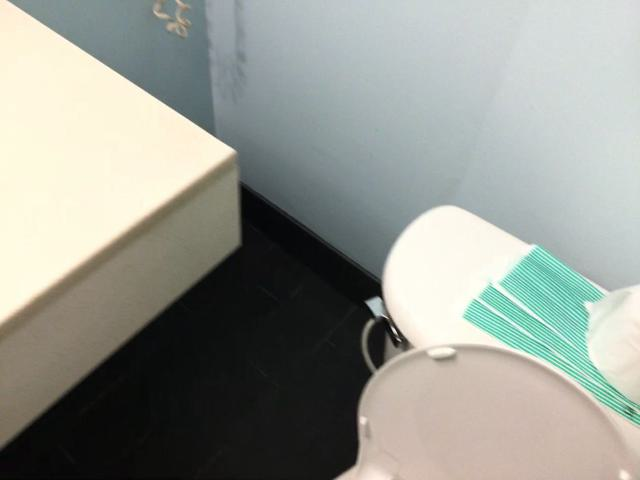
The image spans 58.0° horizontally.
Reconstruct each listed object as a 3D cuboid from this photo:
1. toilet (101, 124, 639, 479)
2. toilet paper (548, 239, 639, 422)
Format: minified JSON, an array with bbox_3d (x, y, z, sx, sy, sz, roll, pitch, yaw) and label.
[{"bbox_3d":[0.120,0.460,0.820,0.510,0.840,0.760,34,56,19],"label":"toilet"},{"bbox_3d":[0.370,0.110,0.640,0.150,0.110,0.130,34,56,19],"label":"toilet paper"}]
